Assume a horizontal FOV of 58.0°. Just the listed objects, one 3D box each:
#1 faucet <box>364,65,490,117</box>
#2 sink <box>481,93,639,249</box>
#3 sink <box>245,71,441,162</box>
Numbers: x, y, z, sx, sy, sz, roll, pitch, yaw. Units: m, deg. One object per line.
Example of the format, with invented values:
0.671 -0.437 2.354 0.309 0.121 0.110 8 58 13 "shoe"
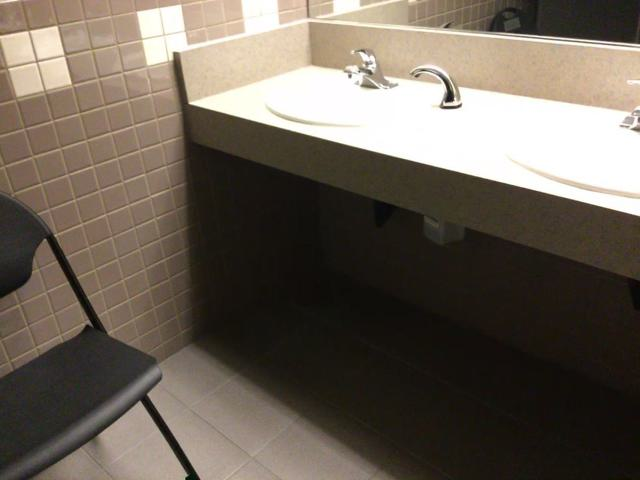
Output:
0.310 -0.440 1.680 0.270 0.080 0.240 18 34 37 "faucet"
0.690 -0.160 1.230 0.500 0.160 0.480 18 34 37 "sink"
0.070 -0.380 1.690 0.410 0.130 0.390 18 34 37 "sink"
